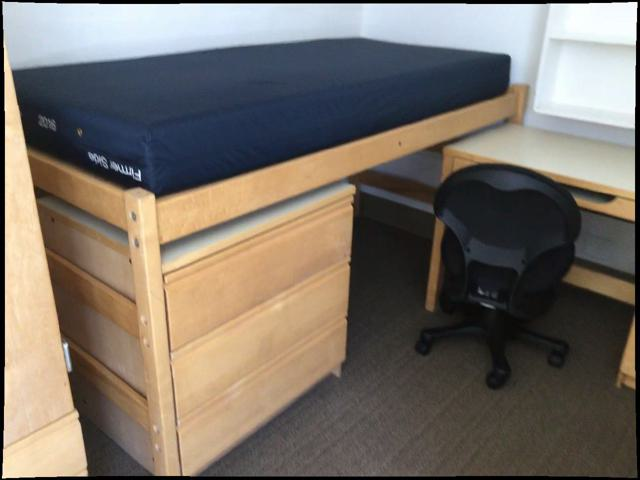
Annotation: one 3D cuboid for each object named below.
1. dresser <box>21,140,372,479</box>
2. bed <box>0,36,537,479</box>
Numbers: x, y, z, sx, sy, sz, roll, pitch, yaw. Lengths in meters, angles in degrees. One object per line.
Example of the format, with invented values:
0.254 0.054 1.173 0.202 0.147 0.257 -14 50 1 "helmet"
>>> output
-0.359 0.201 1.970 0.639 0.832 0.869 20 31 37 "dresser"
-0.110 -0.190 2.450 1.049 1.102 2.138 20 31 37 "bed"
